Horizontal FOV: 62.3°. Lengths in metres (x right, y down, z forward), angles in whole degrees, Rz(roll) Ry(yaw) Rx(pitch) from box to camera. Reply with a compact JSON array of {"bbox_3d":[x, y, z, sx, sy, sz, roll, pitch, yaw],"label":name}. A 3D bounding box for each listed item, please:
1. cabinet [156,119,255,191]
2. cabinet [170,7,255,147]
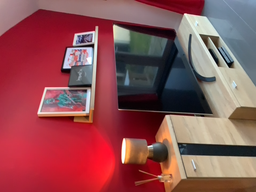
[{"bbox_3d":[0.710,0.470,1.630,0.360,0.860,0.400,106,164,-44],"label":"cabinet"},{"bbox_3d":[0.900,-0.340,2.370,0.500,0.340,1.740,106,164,-44],"label":"cabinet"}]
